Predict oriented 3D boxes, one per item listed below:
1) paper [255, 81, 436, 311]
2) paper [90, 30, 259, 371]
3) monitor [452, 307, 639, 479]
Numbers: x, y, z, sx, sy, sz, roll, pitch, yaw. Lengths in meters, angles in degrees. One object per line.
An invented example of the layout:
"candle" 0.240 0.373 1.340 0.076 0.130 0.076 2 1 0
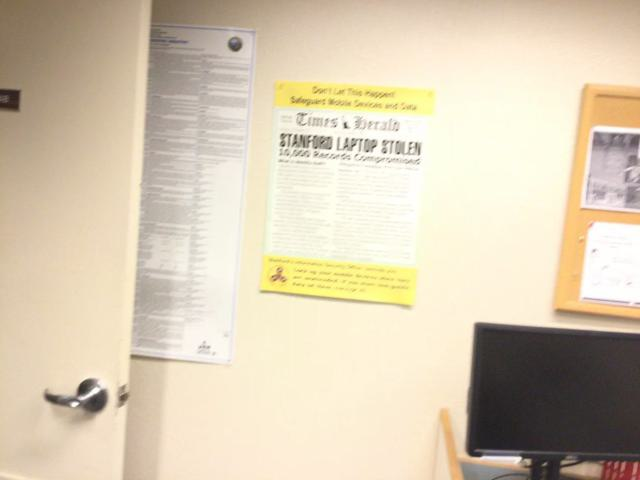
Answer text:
"paper" 0.070 -0.130 1.650 0.480 0.620 0.080 3 2 11
"paper" -0.440 -0.120 1.730 0.470 0.970 0.080 3 2 11
"monitor" 0.580 0.420 1.350 0.500 0.460 0.240 3 2 11
